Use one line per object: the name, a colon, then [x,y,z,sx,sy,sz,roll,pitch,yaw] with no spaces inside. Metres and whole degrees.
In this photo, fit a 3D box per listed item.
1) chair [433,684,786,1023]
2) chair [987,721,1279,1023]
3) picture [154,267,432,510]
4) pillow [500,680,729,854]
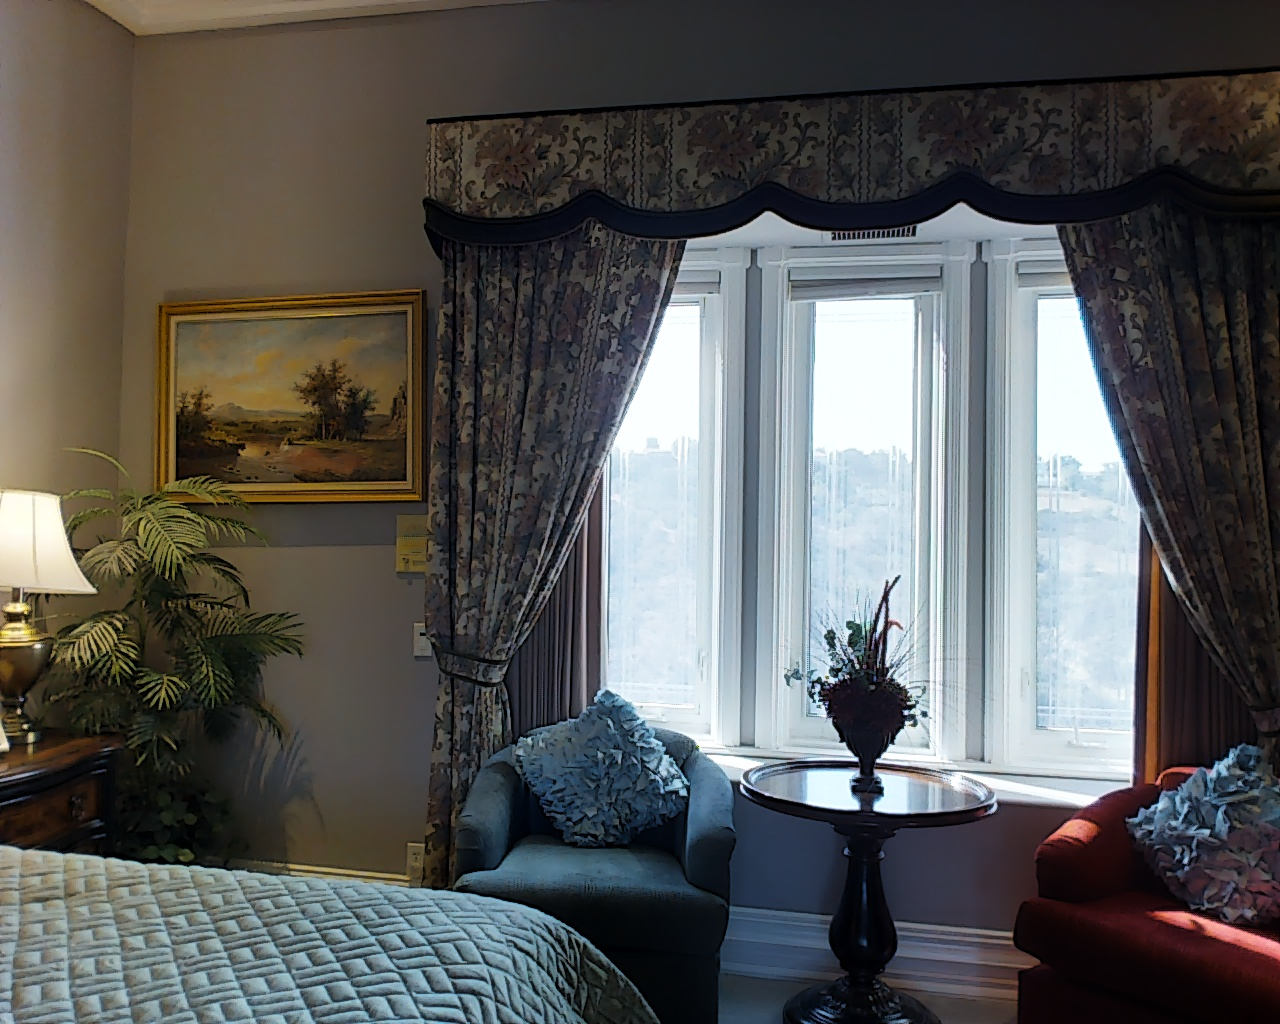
chair: [-0.080,1.000,3.110,0.890,0.880,0.790,0,-1,-1]
chair: [1.480,1.050,2.700,0.770,0.840,0.870,1,-1,-39]
picture: [-1.260,-0.430,3.860,1.050,0.840,0.080,0,-1,13]
pillow: [-0.070,0.760,3.270,0.640,0.430,0.310,0,-1,13]
